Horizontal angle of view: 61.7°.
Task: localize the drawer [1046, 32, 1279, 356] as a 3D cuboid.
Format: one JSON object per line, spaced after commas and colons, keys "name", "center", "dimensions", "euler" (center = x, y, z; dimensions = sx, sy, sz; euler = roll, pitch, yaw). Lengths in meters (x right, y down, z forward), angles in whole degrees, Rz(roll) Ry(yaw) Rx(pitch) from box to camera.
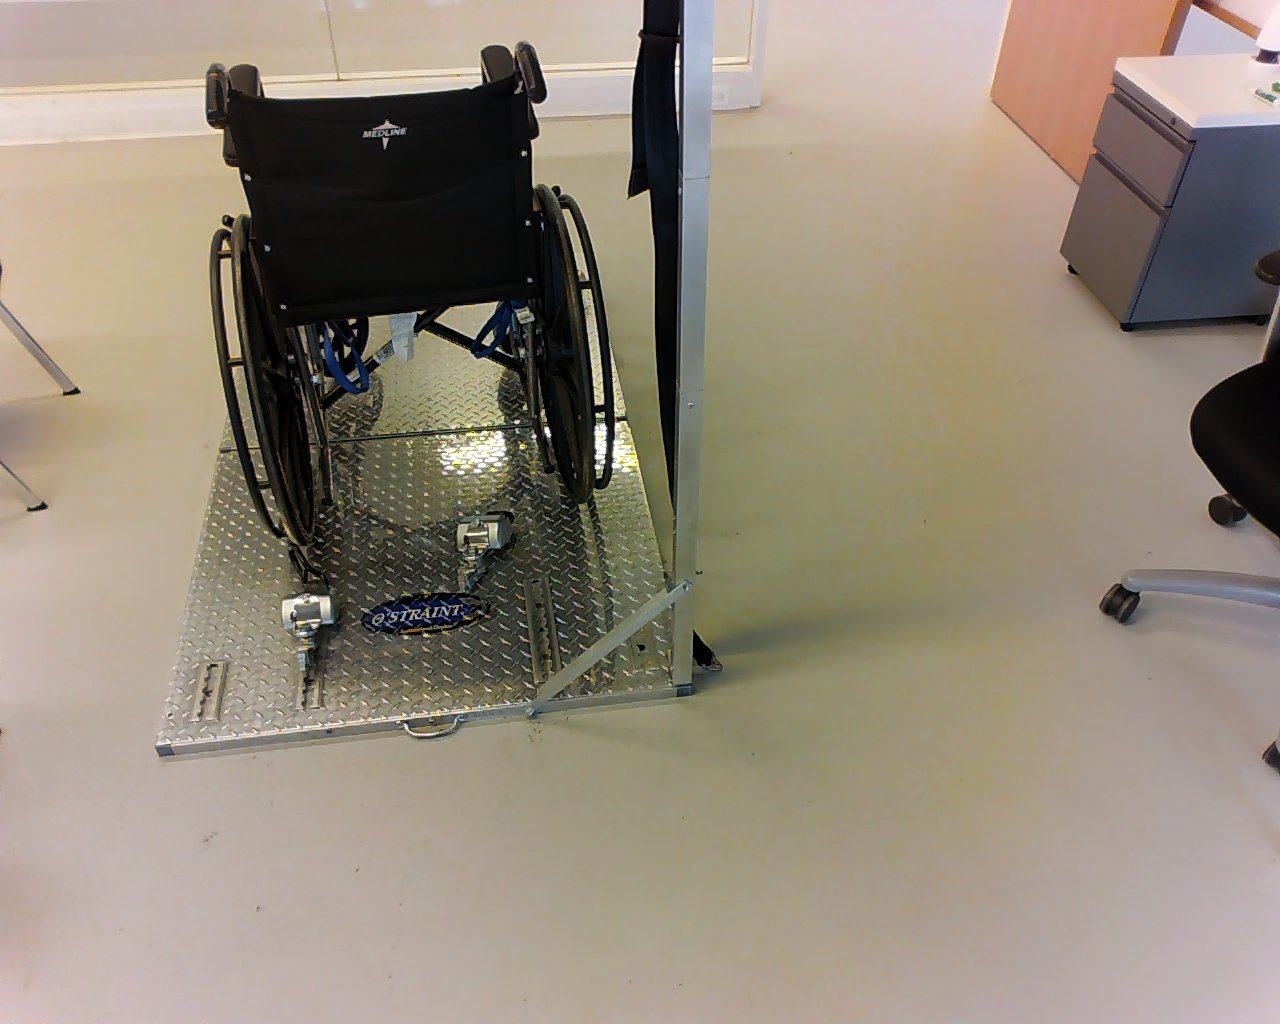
{"name": "drawer", "center": [1.410, -0.800, 2.690], "dimensions": [0.430, 0.600, 0.510], "euler": [-5, 42, -7]}
